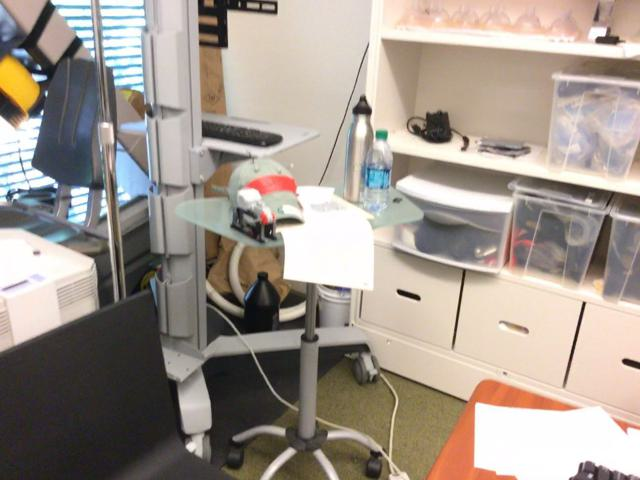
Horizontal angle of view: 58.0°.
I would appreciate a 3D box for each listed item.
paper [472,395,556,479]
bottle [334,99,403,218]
[{"bbox_3d":[0.290,0.310,0.880,0.110,0.020,0.200,5,20,14],"label":"paper"},{"bbox_3d":[0.120,-0.210,1.460,0.130,0.270,0.110,12,23,31],"label":"bottle"}]
